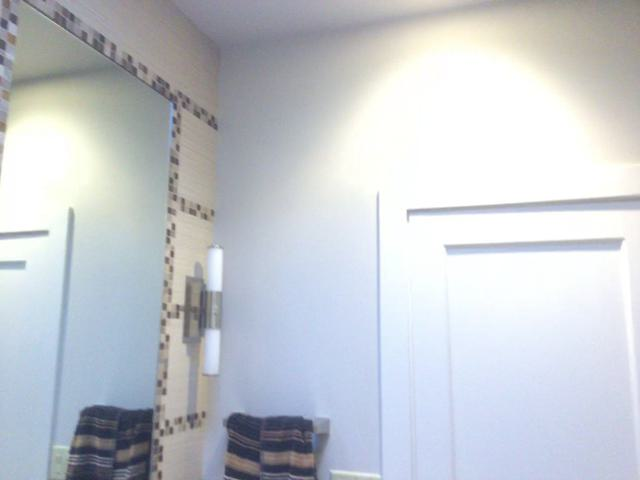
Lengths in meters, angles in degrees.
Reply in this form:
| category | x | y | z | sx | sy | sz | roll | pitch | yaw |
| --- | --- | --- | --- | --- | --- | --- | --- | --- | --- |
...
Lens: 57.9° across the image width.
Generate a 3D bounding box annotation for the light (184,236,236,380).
| category | x | y | z | sx | sy | sz | roll | pitch | yaw |
| --- | --- | --- | --- | --- | --- | --- | --- | --- | --- |
| light | -0.350 | 0.220 | 1.860 | 0.090 | 0.440 | 0.150 | -3 | -11 | 18 |
